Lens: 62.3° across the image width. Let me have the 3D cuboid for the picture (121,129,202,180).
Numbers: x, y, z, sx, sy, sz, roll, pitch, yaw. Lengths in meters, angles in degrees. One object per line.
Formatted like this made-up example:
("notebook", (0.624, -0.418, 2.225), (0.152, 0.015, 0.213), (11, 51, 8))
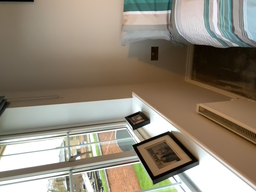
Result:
("picture", (0.160, 0.280, 1.110), (0.350, 0.240, 0.080), (15, 109, 56))

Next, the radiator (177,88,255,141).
("radiator", (0.810, 0.100, 1.300), (0.950, 0.590, 0.070), (-141, 49, -68))

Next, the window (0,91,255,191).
("window", (-0.210, 0.390, 0.880), (1.730, 1.090, 0.330), (-137, 45, -66))
